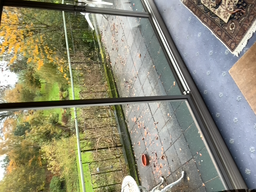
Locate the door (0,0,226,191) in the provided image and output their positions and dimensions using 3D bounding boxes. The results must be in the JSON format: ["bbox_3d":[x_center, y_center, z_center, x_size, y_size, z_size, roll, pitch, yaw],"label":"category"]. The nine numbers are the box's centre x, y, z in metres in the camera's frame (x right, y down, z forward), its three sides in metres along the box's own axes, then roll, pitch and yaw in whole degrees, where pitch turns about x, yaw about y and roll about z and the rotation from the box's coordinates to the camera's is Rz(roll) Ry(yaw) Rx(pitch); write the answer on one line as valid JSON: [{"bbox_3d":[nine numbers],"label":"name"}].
[{"bbox_3d":[-0.630,-1.150,3.120,0.130,2.240,5.440,118,143,-53],"label":"door"}]
